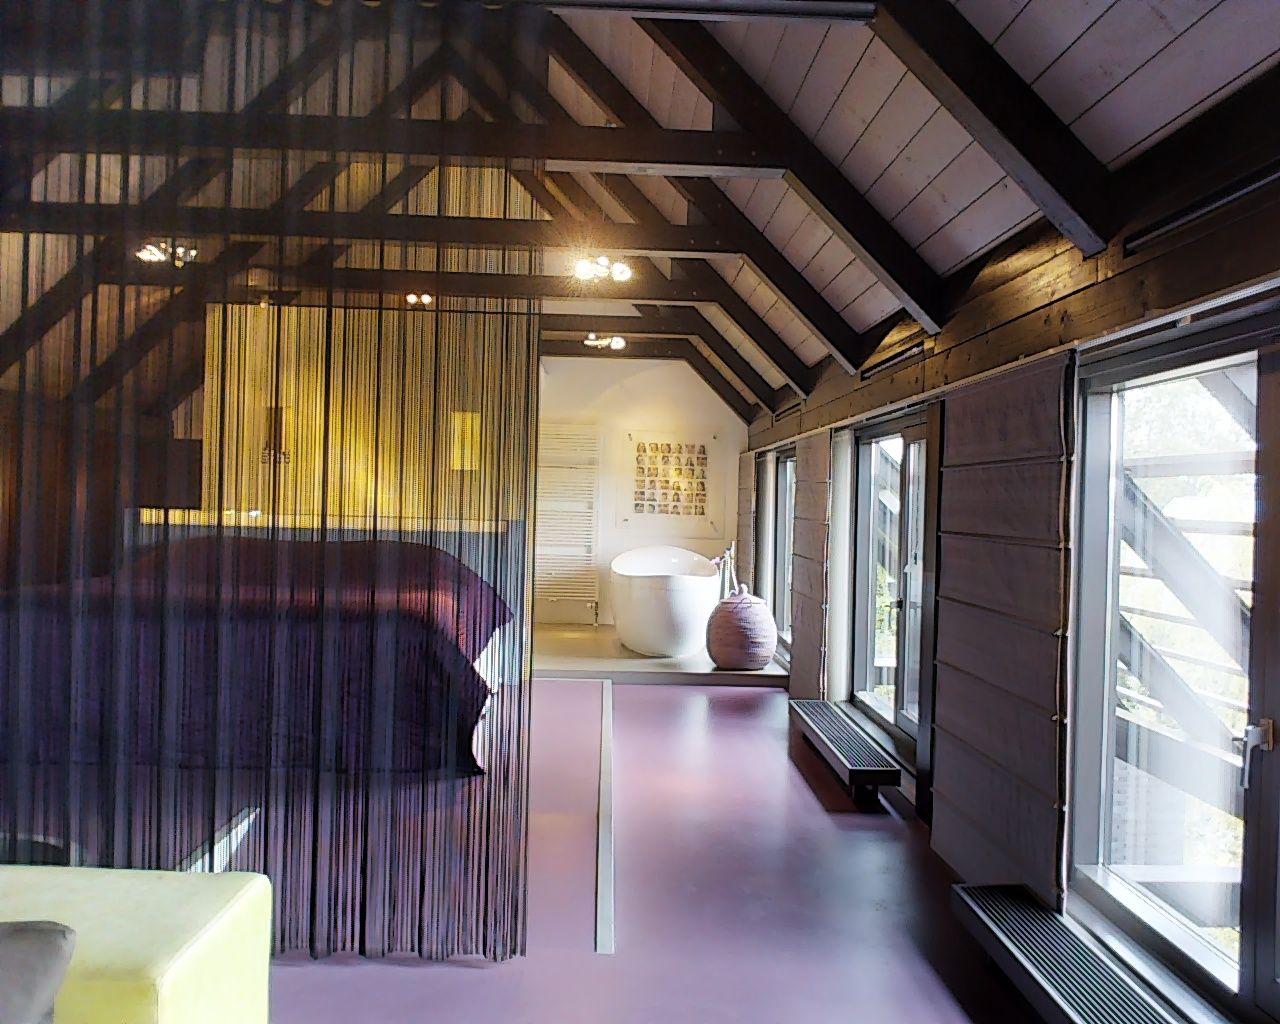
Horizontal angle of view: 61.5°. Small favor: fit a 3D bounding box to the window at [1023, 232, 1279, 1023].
[{"bbox_3d":[1.380,0.360,2.490,0.330,1.810,1.590,2,1,-1],"label":"window"}]
